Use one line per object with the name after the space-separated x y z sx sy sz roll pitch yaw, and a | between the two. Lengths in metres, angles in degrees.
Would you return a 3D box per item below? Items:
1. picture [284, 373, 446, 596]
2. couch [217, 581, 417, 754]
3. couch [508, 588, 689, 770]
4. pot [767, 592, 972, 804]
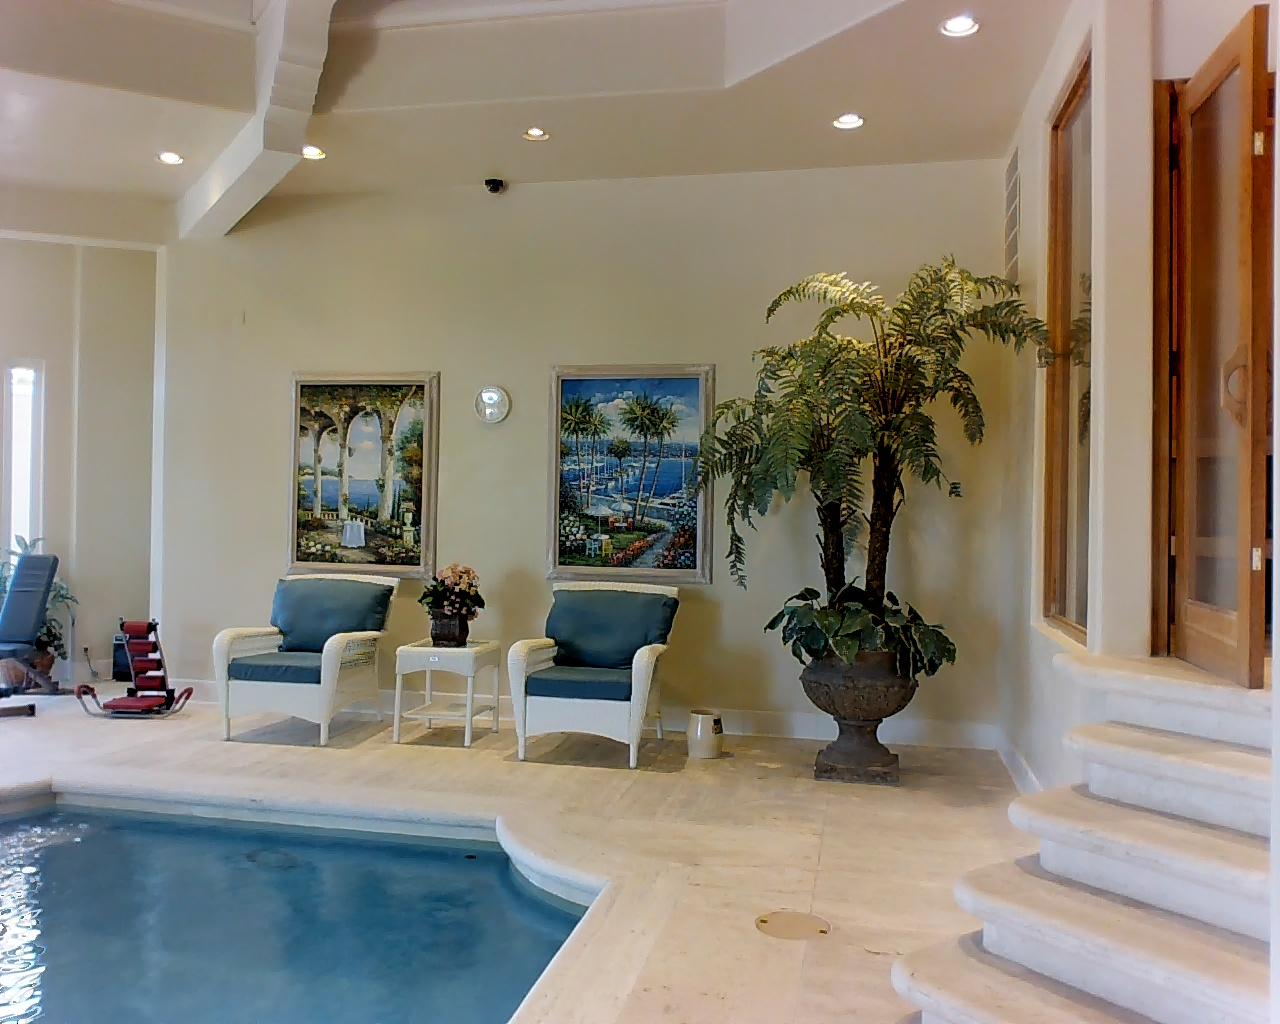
-1.860 -0.190 7.220 1.110 1.470 0.100 1 0 12 | picture
-1.990 0.930 6.730 0.810 0.910 1.010 1 0 12 | couch
-0.210 0.940 6.340 0.840 0.890 1.020 1 0 12 | couch
1.210 0.940 5.700 0.720 0.950 0.770 1 0 -33 | pot
